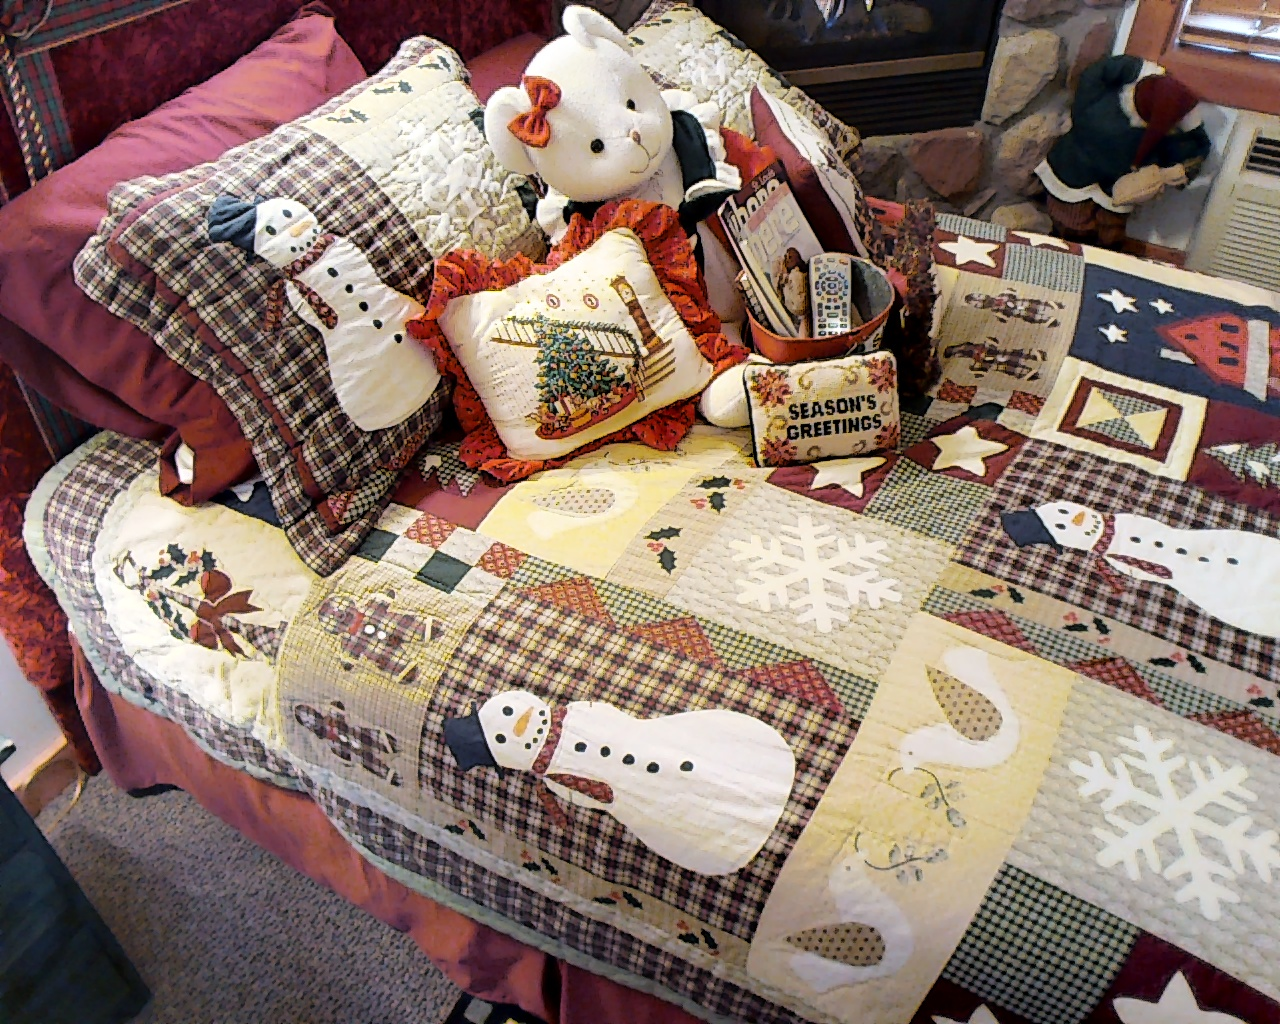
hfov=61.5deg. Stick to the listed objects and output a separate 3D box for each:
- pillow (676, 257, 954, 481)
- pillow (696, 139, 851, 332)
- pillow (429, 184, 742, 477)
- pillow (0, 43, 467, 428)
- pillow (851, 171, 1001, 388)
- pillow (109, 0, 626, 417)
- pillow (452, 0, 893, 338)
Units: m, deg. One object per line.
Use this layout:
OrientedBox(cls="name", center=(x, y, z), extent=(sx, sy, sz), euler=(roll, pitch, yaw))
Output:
OrientedBox(cls="pillow", center=(0.220, -0.200, 1.440), extent=(0.270, 0.130, 0.270), euler=(-11, 44, -12))
OrientedBox(cls="pillow", center=(0.170, -0.360, 1.450), extent=(0.120, 0.190, 0.250), euler=(18, 5, -3))
OrientedBox(cls="pillow", center=(-0.060, -0.220, 1.370), extent=(0.340, 0.250, 0.080), euler=(20, 0, -34))
OrientedBox(cls="pillow", center=(-0.520, -0.390, 1.440), extent=(0.240, 0.380, 0.660), euler=(14, 22, 20))
OrientedBox(cls="pillow", center=(0.400, -0.340, 1.550), extent=(0.140, 0.180, 0.290), euler=(2, 42, 2))
OrientedBox(cls="pillow", center=(-0.300, -0.380, 1.440), extent=(0.220, 0.390, 0.690), euler=(20, 6, 20))
OrientedBox(cls="pillow", center=(0.080, -0.640, 1.820), extent=(0.450, 0.290, 0.670), euler=(20, 46, 20))
